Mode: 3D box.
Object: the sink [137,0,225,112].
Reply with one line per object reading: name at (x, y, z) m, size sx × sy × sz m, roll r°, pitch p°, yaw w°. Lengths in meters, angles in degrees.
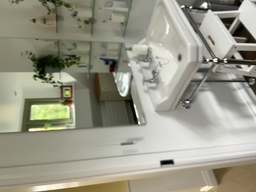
sink at (0.290, -0.310, 1.460) m, size 0.510 × 0.210 × 0.650 m, roll 108°, pitch 155°, yaw -49°
